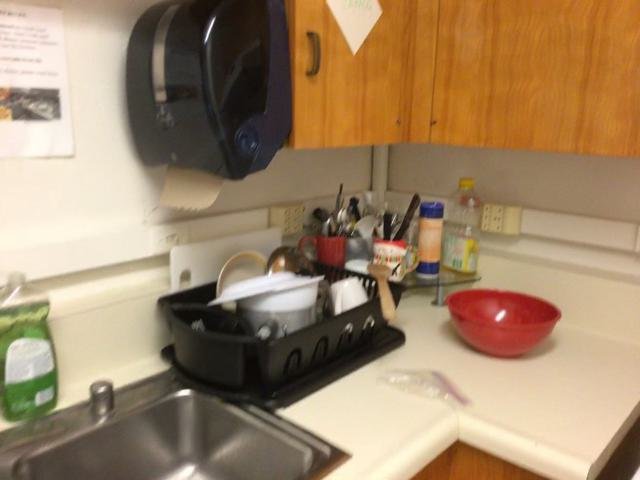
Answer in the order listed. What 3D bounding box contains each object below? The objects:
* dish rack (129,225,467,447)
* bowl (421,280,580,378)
[{"bbox_3d":[-0.030,0.150,1.300,0.460,0.230,0.600,13,16,39],"label":"dish rack"},{"bbox_3d":[0.440,0.200,1.400,0.260,0.100,0.300,13,16,39],"label":"bowl"}]
